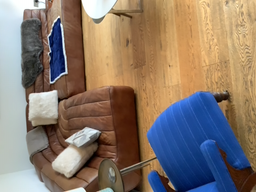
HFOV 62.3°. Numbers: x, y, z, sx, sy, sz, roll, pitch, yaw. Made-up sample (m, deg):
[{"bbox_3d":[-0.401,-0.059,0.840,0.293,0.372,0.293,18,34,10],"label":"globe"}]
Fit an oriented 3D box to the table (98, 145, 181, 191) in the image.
[{"bbox_3d":[0.100,0.670,1.830,0.370,0.580,0.360,-11,82,55],"label":"table"}]
